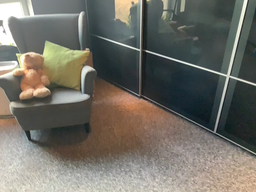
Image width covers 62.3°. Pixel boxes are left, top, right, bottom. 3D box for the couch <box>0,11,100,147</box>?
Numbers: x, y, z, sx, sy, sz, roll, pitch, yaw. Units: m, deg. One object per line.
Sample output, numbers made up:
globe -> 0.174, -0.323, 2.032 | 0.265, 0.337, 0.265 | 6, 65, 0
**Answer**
couch -> -0.730, -0.230, 2.080 | 0.800, 0.990, 0.900 | -5, 31, -8
